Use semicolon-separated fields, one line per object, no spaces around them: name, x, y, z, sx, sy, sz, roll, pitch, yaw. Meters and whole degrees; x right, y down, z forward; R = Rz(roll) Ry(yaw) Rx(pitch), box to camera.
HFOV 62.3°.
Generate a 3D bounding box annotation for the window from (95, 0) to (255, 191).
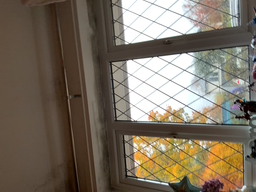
window;0.300;0.000;1.520;0.130;1.080;1.600;-11;-81;-63
